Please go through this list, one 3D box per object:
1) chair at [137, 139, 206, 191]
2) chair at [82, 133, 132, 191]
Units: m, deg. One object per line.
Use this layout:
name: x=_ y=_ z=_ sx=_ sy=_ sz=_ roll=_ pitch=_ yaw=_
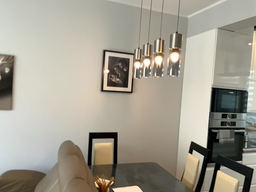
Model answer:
chair: x=0.380 y=0.990 z=2.060 sx=0.470 sy=1.050 sz=0.410 roll=3 pitch=2 yaw=-17
chair: x=-0.250 y=0.950 z=2.180 sx=0.380 sy=1.040 sz=0.470 roll=3 pitch=2 yaw=-17
